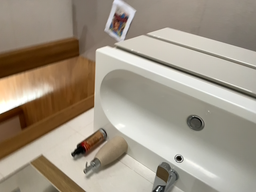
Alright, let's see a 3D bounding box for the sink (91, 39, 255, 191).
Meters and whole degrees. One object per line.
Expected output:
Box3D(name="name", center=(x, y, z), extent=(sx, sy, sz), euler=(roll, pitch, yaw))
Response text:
Box3D(name="sink", center=(0.210, 0.120, 0.730), extent=(0.810, 0.100, 0.400), euler=(26, 126, 26))
